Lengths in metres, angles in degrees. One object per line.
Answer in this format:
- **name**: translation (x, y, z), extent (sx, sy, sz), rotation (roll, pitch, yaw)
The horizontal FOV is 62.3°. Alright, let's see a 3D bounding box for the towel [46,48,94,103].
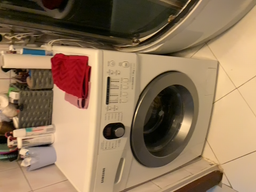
- **towel**: translation (-0.240, -0.090, 0.840), extent (0.260, 0.070, 0.170), rotation (21, 108, 47)

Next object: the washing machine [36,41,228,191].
- **washing machine**: translation (0.010, 0.050, 1.230), extent (0.640, 0.840, 0.600), rotation (20, 108, 48)

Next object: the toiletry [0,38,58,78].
- **toiletry**: translation (-0.480, -0.180, 0.990), extent (0.270, 0.200, 0.150), rotation (18, 107, 48)
